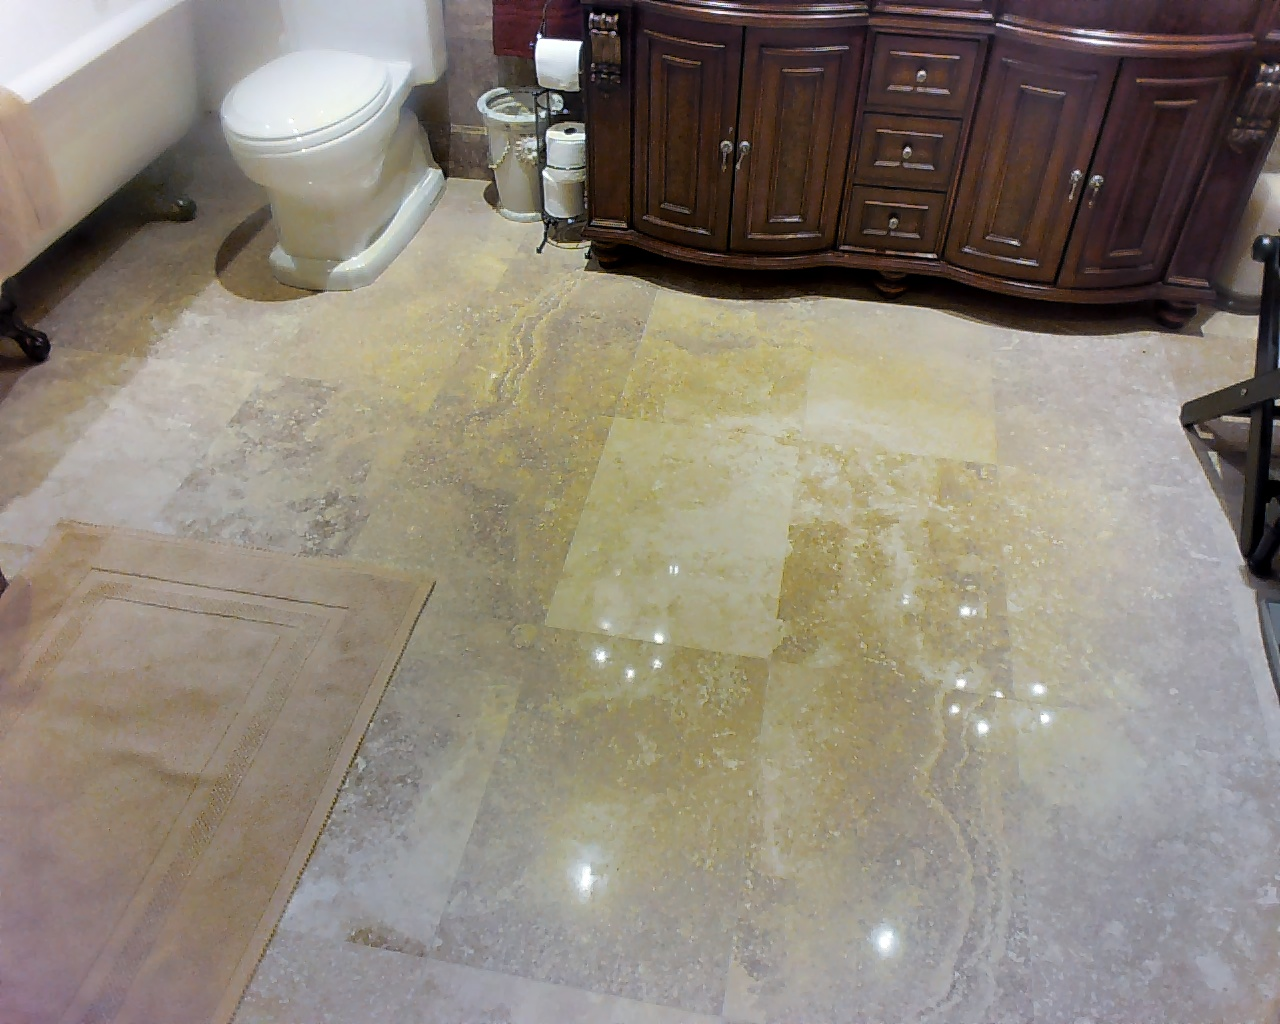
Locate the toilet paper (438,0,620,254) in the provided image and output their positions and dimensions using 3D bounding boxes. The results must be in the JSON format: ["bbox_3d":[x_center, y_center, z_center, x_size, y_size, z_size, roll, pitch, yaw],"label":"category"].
[{"bbox_3d":[-0.270,-1.020,2.810,0.350,0.520,0.350,10,44,10],"label":"toilet paper"}]

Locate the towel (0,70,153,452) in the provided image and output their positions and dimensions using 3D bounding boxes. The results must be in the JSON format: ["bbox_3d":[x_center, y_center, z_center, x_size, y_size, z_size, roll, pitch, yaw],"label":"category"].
[{"bbox_3d":[-1.350,-0.520,2.220,0.290,0.640,0.410,8,44,8],"label":"towel"}]
